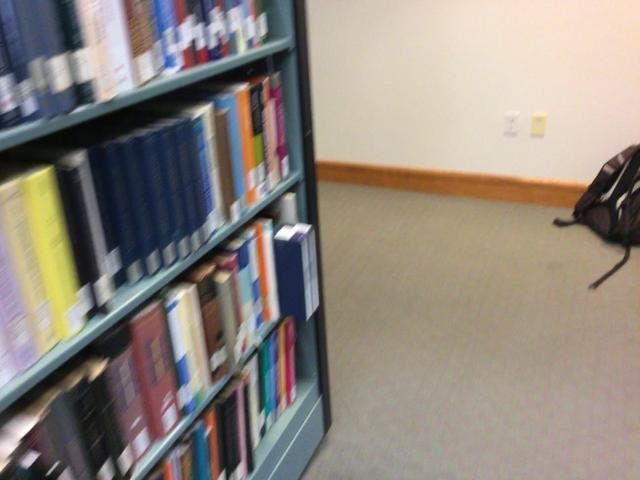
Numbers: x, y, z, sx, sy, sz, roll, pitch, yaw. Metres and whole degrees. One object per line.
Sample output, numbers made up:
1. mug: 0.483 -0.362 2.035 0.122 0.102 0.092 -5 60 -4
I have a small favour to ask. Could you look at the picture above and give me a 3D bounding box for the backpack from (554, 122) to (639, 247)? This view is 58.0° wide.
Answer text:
1. backpack: 1.420 -0.260 2.710 0.370 0.420 0.410 4 33 -6
